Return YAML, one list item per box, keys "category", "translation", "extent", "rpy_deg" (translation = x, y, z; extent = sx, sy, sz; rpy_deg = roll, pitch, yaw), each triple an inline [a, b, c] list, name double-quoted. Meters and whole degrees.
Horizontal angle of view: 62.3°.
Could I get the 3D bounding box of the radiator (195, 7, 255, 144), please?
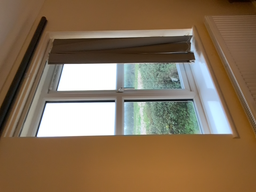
- category: "radiator"
  translation: [0.980, -0.280, 1.520]
  extent: [0.080, 0.690, 1.320]
  rpy_deg: [89, 179, -49]
